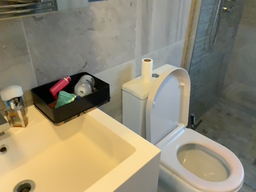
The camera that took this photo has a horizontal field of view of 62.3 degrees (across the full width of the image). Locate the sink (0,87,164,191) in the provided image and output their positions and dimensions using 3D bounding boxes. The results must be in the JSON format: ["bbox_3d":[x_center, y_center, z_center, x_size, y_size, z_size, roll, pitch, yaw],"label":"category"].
[{"bbox_3d":[-0.270,0.220,0.570,0.450,0.140,0.600,27,41,36],"label":"sink"}]
